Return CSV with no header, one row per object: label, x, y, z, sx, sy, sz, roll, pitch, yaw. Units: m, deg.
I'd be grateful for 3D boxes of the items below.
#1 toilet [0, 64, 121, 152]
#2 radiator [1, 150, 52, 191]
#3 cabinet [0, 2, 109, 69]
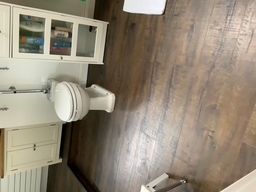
toilet,-0.830,0.040,1.860,0.680,1.350,0.510,24,110,47
radiator,-1.520,1.300,3.180,0.170,0.640,0.870,28,113,46
cabinet,-0.740,-0.520,1.920,0.340,1.070,0.440,25,111,46
